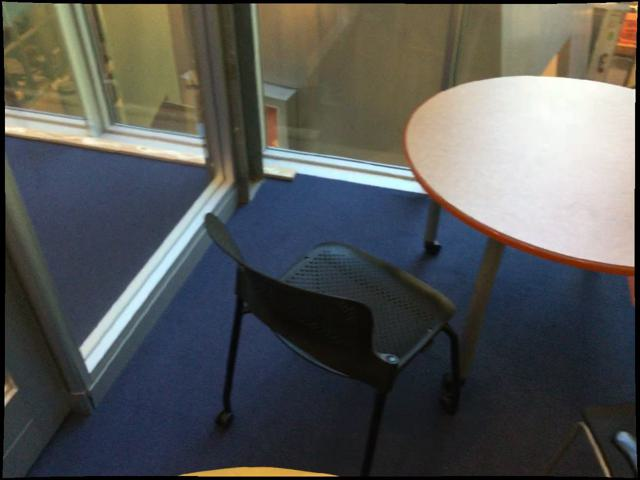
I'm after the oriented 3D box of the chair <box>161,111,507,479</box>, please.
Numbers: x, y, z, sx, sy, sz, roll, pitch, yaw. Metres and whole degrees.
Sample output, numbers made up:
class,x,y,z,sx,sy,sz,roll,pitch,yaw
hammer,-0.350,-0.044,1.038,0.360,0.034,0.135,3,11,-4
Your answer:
class,x,y,z,sx,sy,sz,roll,pitch,yaw
chair,0.050,0.210,1.520,0.490,0.790,0.620,26,47,26

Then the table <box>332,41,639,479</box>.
class,x,y,z,sx,sy,sz,roll,pitch,yaw
table,0.789,-0.030,1.910,1.079,0.680,1.080,23,45,23
